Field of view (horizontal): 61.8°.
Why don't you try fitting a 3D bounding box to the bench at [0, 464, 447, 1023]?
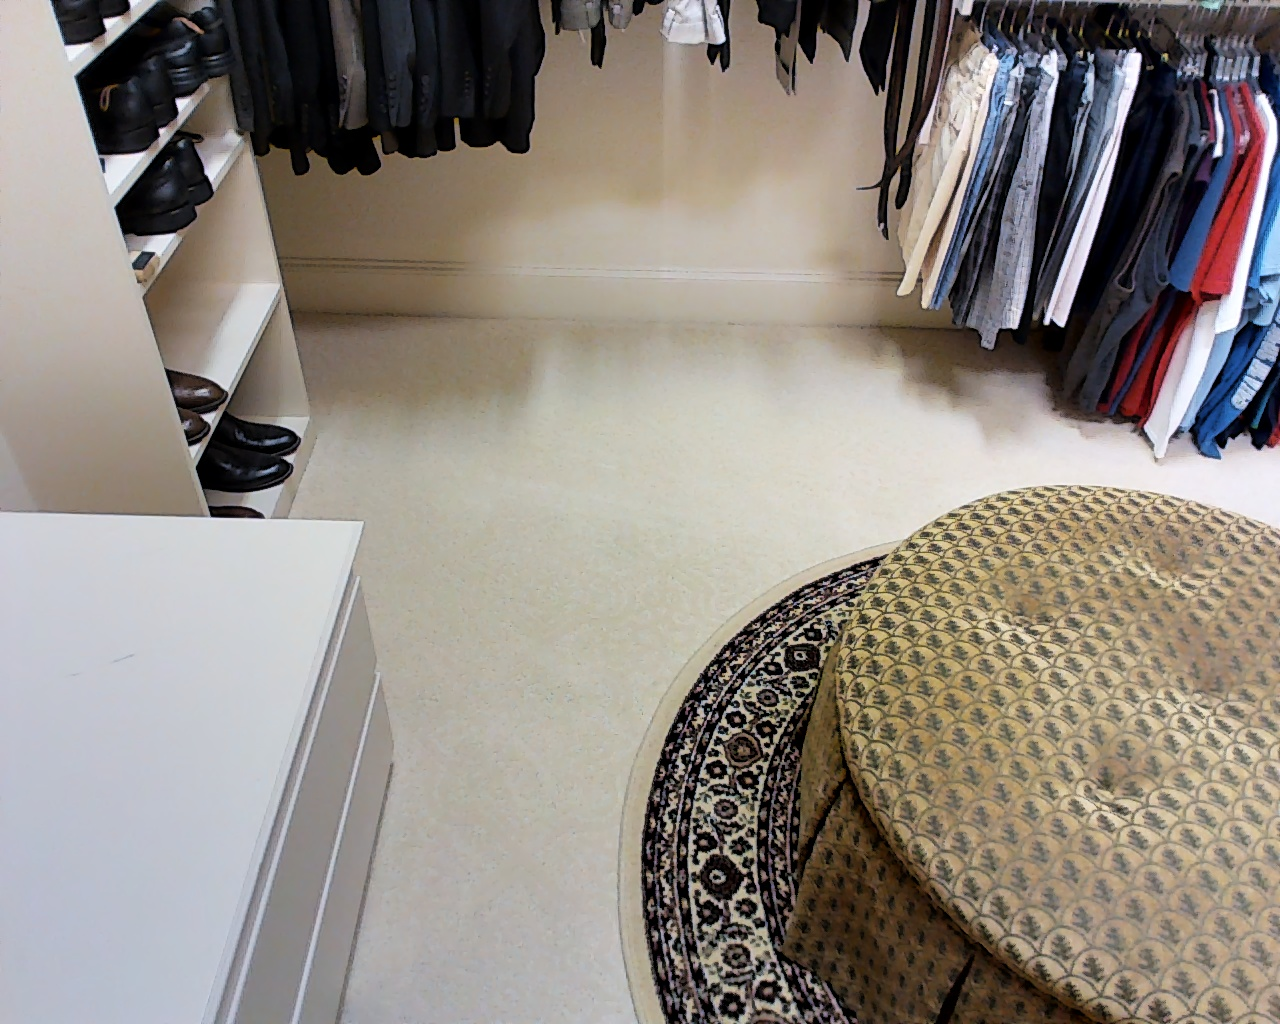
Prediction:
[{"bbox_3d":[-0.700,0.440,1.450,0.680,0.570,0.880,0,43,1],"label":"bench"}]
